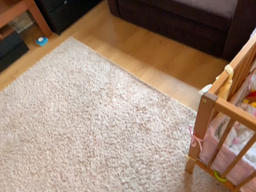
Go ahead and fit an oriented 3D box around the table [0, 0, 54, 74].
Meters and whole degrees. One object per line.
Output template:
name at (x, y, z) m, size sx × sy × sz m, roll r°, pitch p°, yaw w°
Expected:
table at (-1.400, -0.450, 1.970) m, size 0.380 × 0.450 × 1.320 m, roll 33°, pitch 67°, yaw 27°
